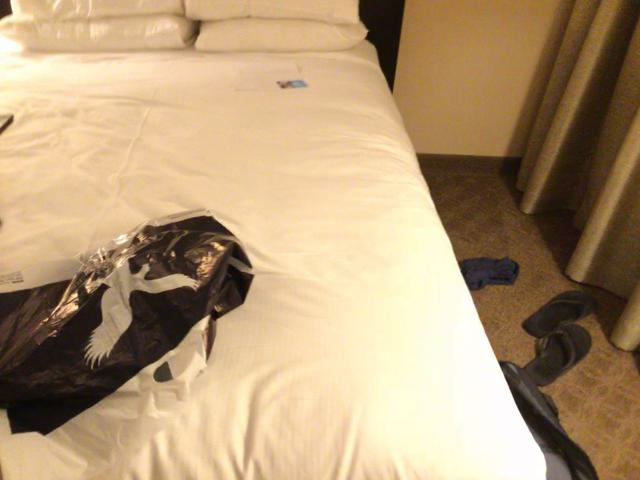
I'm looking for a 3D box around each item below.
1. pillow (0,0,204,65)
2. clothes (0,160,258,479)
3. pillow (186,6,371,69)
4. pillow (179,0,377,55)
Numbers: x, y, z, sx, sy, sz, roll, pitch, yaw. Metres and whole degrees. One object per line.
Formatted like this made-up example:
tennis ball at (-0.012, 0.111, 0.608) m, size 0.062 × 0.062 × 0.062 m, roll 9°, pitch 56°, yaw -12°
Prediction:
pillow at (-0.780, -0.780, 2.080) m, size 0.650 × 0.140 × 0.390 m, roll 4°, pitch 31°, yaw -3°
clothes at (-0.330, 0.090, 0.830) m, size 0.430 × 0.180 × 0.530 m, roll 4°, pitch 31°, yaw -3°
pillow at (-0.140, -0.710, 2.020) m, size 0.610 × 0.120 × 0.210 m, roll 4°, pitch 31°, yaw -3°
pillow at (-0.140, -0.850, 2.060) m, size 0.640 × 0.230 × 0.390 m, roll 4°, pitch 31°, yaw -3°
